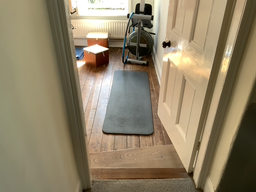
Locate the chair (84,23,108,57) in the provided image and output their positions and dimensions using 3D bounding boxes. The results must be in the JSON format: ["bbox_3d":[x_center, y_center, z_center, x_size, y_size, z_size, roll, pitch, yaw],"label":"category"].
[{"bbox_3d":[-0.690,-1.260,4.720,0.420,0.540,0.670,1,33,0],"label":"chair"}]

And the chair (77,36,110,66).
[{"bbox_3d":[-0.660,-0.890,4.150,0.420,0.400,0.430,20,38,27],"label":"chair"}]
